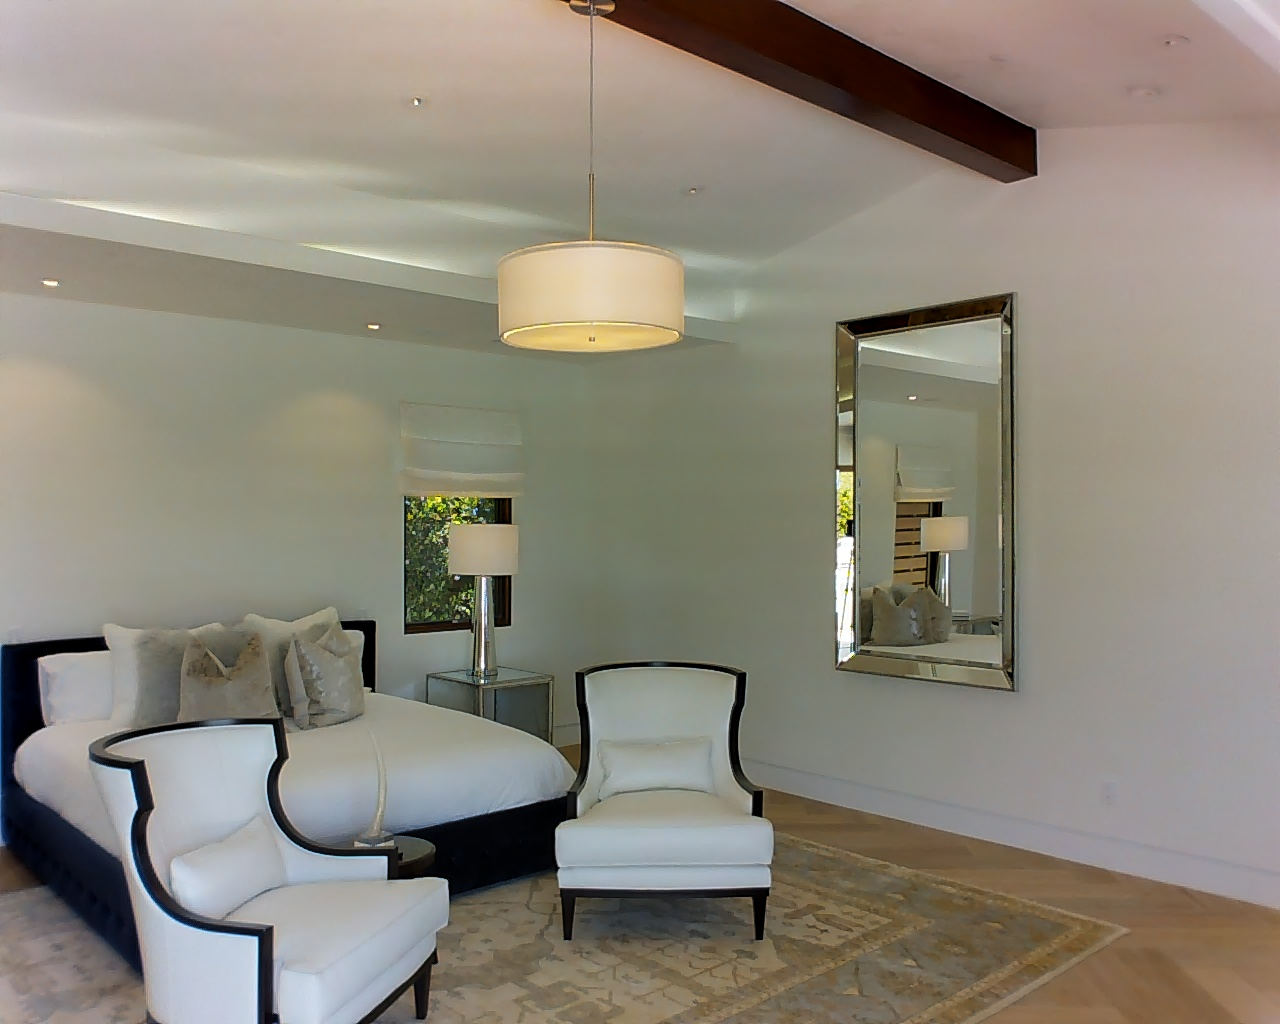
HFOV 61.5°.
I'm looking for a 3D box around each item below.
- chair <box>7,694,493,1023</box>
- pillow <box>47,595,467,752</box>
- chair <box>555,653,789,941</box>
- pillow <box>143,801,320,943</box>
[{"bbox_3d":[-1.150,1.150,3.360,1.090,0.960,0.930,0,0,15],"label":"chair"},{"bbox_3d":[-1.970,0.770,5.630,1.760,0.520,1.150,0,0,-43],"label":"pillow"},{"bbox_3d":[0.110,1.160,4.640,0.900,0.970,1.010,0,0,-2],"label":"chair"},{"bbox_3d":[-1.250,1.100,3.350,0.240,0.230,0.600,0,0,10],"label":"pillow"}]
